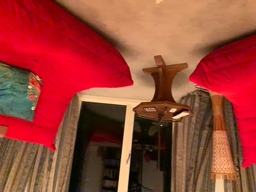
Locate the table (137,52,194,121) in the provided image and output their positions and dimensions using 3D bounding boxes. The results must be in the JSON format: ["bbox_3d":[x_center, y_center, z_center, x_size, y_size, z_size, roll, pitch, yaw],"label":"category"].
[{"bbox_3d":[0.330,-0.070,2.000,0.430,0.470,0.450,5,159,1],"label":"table"}]

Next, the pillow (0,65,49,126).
[{"bbox_3d":[-0.930,-0.010,1.690,0.170,0.400,0.460,-6,-170,38],"label":"pillow"}]
